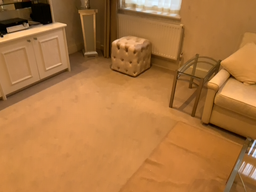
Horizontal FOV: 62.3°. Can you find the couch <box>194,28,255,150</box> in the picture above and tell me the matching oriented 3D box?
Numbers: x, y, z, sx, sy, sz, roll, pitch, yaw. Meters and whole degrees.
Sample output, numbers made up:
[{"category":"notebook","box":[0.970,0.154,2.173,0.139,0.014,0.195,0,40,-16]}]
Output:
[{"category":"couch","box":[1.470,-0.040,2.040,1.220,0.810,0.940,22,37,27]}]
